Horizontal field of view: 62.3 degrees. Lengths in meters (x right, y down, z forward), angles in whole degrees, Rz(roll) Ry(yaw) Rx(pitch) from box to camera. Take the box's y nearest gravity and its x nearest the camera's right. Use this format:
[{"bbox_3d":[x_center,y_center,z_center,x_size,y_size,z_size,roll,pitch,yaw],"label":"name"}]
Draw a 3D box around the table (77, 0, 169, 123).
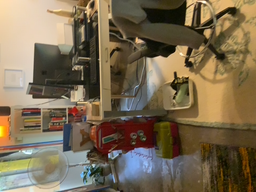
[{"bbox_3d":[-0.080,-0.350,2.380,0.610,0.770,1.230,-9,82,60],"label":"table"}]
